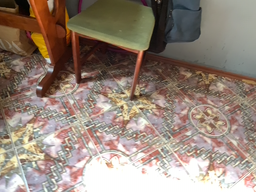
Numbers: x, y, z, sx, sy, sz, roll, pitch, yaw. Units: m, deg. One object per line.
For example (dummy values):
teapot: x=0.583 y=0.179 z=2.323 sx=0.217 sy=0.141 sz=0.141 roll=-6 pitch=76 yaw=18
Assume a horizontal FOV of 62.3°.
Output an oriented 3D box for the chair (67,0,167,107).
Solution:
chair: x=-0.030 y=-0.460 z=1.220 sx=0.400 sy=0.880 sz=0.510 roll=18 pitch=47 yaw=7
